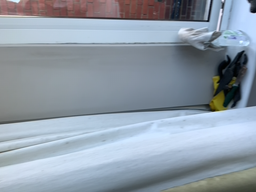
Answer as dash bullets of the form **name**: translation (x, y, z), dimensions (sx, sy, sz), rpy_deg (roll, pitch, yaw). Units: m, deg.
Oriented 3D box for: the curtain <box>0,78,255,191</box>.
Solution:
- **curtain**: translation (0.160, 0.150, 0.760), dimensions (0.500, 2.360, 0.240), rpy_deg (-125, 35, -61)
